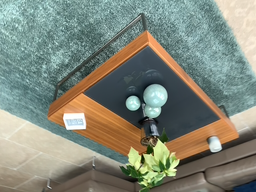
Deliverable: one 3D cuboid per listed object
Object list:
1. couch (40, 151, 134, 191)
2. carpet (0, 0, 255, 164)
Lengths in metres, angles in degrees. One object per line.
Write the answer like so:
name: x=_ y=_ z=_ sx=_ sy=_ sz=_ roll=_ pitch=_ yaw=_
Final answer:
couch: x=-0.530 y=1.170 z=2.670 sx=0.980 sy=0.420 sz=0.690 roll=-32 pitch=132 yaw=27
carpet: x=-0.180 y=-0.180 z=1.490 sx=1.690 sy=0.060 sz=2.470 roll=-30 pitch=132 yaw=26
